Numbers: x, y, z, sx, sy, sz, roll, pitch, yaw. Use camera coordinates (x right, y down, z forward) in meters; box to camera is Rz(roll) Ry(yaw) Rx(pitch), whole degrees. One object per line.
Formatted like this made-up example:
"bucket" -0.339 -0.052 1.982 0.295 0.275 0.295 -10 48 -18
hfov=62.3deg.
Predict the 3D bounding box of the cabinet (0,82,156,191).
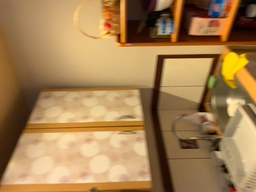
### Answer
"cabinet" -0.300 0.280 1.400 0.840 0.820 0.310 -94 4 -52

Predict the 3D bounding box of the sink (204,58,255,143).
"sink" 0.780 0.030 1.530 0.410 0.230 0.450 -94 4 -52
